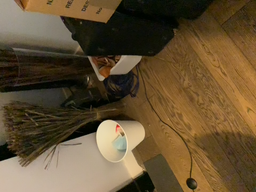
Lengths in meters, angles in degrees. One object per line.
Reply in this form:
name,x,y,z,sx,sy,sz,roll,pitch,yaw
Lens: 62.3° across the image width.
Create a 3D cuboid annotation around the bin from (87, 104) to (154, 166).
bin,-0.050,0.260,1.480,0.250,0.280,0.290,-42,70,35
